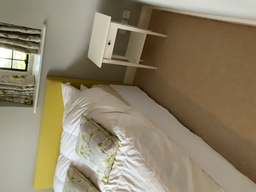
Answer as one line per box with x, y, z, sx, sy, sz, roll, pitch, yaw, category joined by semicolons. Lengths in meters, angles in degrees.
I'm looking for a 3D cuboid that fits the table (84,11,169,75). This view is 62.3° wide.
-0.030;-0.550;2.260;0.420;0.690;0.480;43;124;51;table

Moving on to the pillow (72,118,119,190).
-0.310;0.500;1.890;0.370;0.200;0.480;49;128;48;pillow
